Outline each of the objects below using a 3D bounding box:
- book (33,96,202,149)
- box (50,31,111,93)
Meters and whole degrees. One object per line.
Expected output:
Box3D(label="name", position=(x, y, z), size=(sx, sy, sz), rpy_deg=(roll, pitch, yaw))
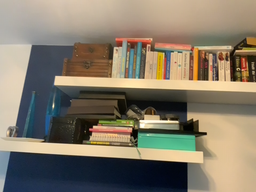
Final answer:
Box3D(label="book", position=(-0.050, 0.150, 1.170), size=(0.830, 0.220, 0.230), rpy_deg=(2, -16, 6))
Box3D(label="box", position=(-0.270, -0.200, 1.290), size=(0.280, 0.300, 0.220), rpy_deg=(2, -16, 5))
